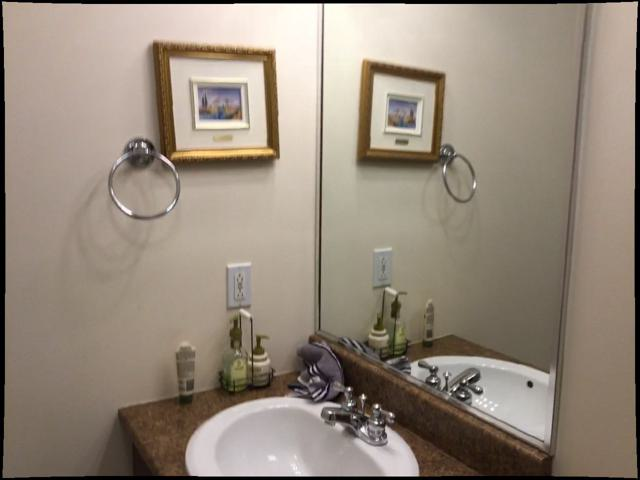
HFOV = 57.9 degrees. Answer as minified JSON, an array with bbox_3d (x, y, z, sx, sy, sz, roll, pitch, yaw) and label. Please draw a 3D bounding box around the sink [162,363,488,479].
[{"bbox_3d":[-0.010,0.480,1.180,0.480,0.220,0.460,-6,13,-32],"label":"sink"}]
